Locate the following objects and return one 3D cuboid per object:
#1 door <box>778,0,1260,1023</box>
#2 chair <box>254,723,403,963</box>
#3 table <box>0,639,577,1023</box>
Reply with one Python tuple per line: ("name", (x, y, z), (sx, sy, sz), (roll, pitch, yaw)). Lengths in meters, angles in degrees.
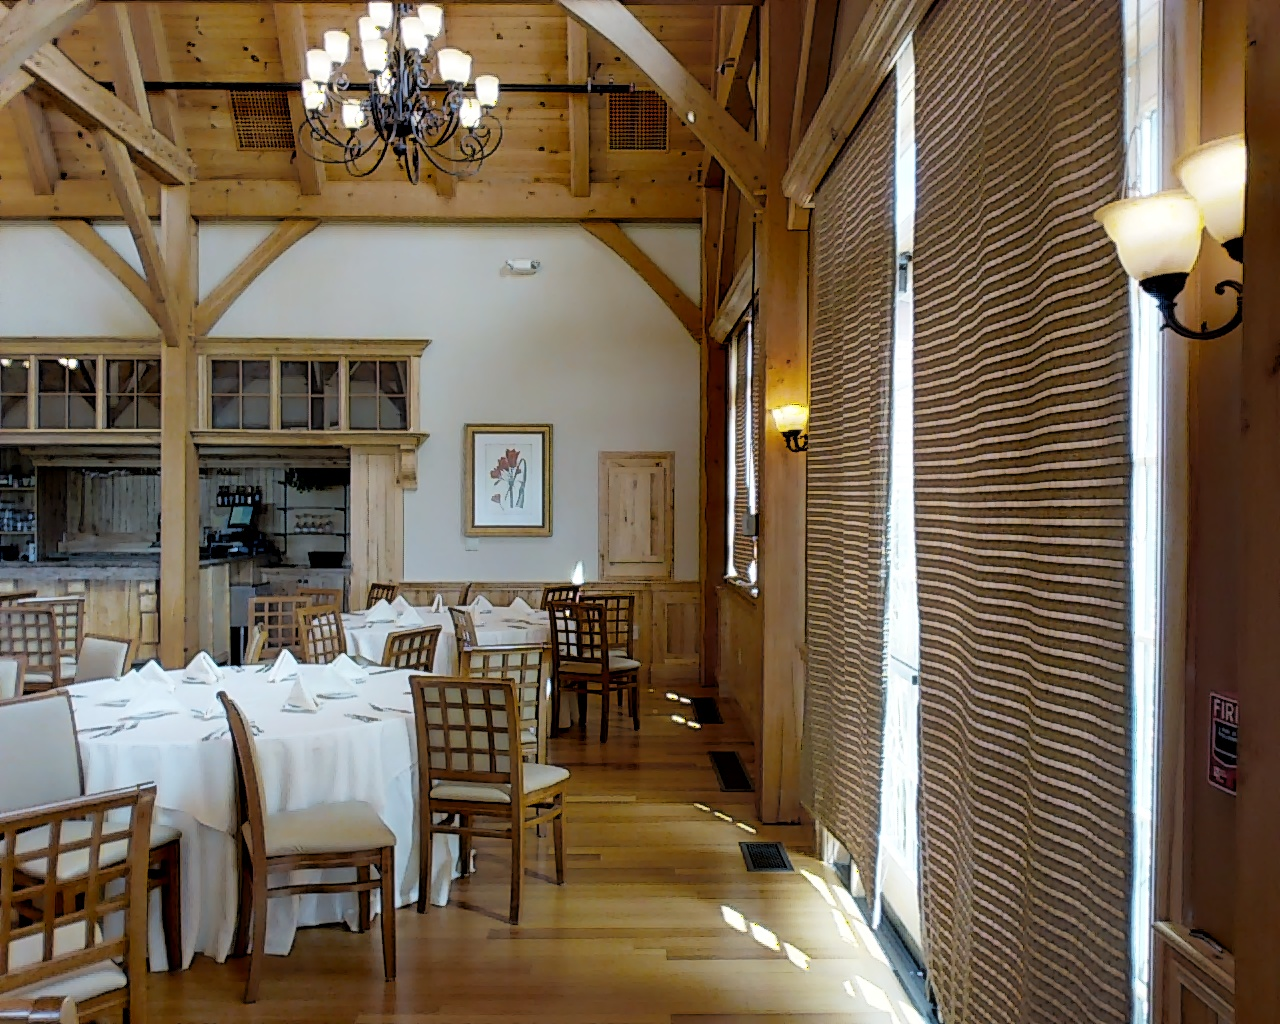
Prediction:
("door", (0.780, -0.110, 3.230), (0.230, 3.140, 3.230), (0, 1, -1))
("chair", (-1.070, 1.100, 3.670), (0.460, 0.630, 0.490), (0, 1, -18))
("table", (-1.690, 1.100, 4.540), (2.070, 0.760, 1.950), (1, 1, 44))
